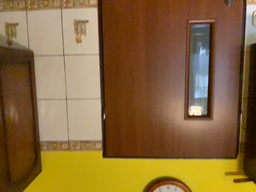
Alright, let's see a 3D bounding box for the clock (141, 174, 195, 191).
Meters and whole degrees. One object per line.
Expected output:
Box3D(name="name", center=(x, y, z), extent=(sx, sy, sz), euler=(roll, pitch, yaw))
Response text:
Box3D(name="clock", center=(0.230, 0.620, 1.260), extent=(0.310, 0.300, 0.030), euler=(1, -172, 6))
